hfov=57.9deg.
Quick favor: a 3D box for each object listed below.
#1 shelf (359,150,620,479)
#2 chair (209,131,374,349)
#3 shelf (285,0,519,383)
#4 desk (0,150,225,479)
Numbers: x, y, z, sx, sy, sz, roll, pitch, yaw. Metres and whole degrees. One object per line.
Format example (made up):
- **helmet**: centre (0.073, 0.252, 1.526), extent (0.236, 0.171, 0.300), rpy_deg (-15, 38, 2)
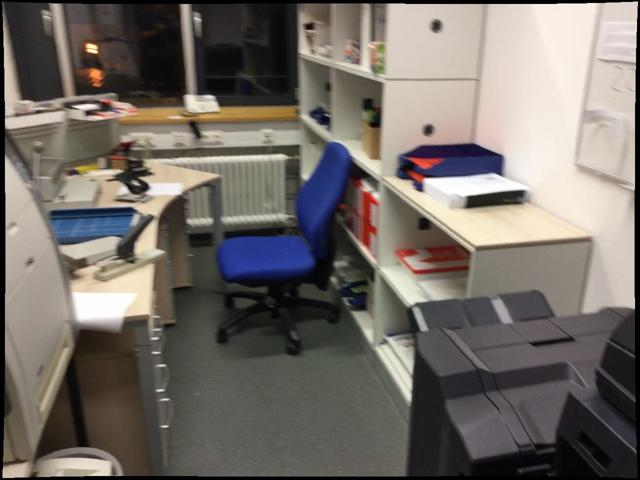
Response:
- **shelf**: centre (0.539, 0.230, 2.230), extent (0.470, 0.961, 0.870), rpy_deg (-4, 23, -15)
- **chair**: centre (-0.170, -0.030, 2.880), extent (0.669, 0.911, 0.520), rpy_deg (-4, 23, -16)
- **shelf**: centre (0.240, -0.521, 3.120), extent (0.470, 1.752, 1.800), rpy_deg (-4, 23, -15)
- **desk**: centre (-1.039, 0.200, 2.570), extent (1.059, 0.691, 2.210), rpy_deg (0, 22, -5)
